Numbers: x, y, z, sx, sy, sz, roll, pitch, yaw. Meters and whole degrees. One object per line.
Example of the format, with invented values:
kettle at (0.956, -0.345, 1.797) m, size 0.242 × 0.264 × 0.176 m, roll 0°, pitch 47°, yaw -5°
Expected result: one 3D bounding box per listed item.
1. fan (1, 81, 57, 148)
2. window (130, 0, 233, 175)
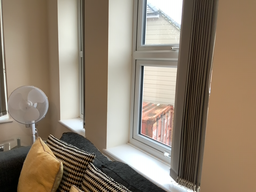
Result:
fan at (-1.110, 0.190, 2.460) m, size 0.450 × 0.670 × 0.420 m, roll 0°, pitch 10°, yaw -8°
window at (0.350, -0.330, 1.710) m, size 0.090 × 1.650 × 0.870 m, roll -6°, pitch 13°, yaw -37°
